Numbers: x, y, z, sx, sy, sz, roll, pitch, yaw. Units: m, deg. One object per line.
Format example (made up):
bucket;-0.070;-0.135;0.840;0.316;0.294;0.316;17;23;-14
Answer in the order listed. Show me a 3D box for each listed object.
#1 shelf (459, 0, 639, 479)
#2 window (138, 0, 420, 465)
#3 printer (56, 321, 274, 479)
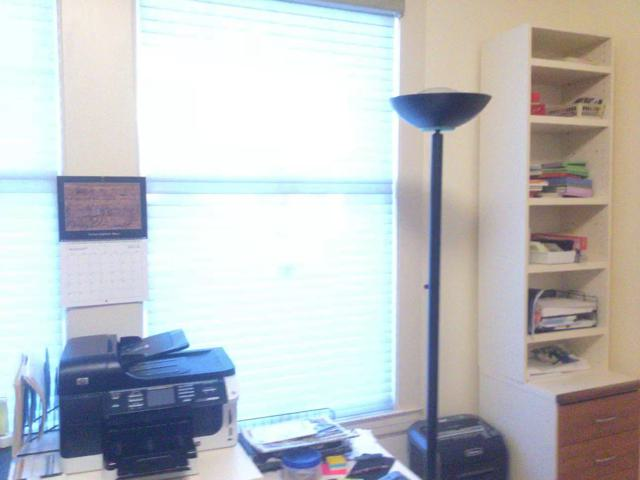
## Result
shelf;1.050;0.180;2.390;0.670;2.160;0.550;-1;4;-25
window;-0.120;-0.120;2.120;1.040;1.710;0.100;-1;4;-25
printer;-0.480;0.490;1.680;0.520;0.370;0.570;-1;4;-25
